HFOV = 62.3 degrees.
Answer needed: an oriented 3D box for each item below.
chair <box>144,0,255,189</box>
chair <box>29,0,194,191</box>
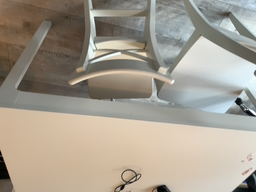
[{"bbox_3d":[0.420,-0.120,1.040,0.460,0.910,0.520,7,130,-11],"label":"chair"},{"bbox_3d":[-0.060,-0.120,0.990,0.390,0.910,0.450,-2,132,-2],"label":"chair"}]
